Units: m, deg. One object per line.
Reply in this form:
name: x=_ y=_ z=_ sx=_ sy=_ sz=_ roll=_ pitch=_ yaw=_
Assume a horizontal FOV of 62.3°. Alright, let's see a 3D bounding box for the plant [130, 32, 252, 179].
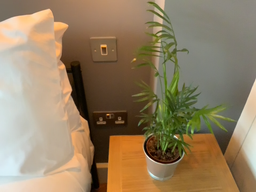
plant: x=0.110 y=0.040 z=0.530 sx=0.200 sy=0.350 sz=0.150 roll=-2 pitch=38 yaw=-2
